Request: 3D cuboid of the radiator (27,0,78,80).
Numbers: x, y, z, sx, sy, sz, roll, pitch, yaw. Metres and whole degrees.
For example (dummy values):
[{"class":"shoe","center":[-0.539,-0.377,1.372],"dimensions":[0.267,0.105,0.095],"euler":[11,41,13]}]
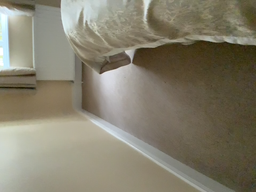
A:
[{"class":"radiator","center":[-0.980,-0.710,2.810],"dimensions":[0.110,0.610,0.990],"euler":[17,107,58]}]
